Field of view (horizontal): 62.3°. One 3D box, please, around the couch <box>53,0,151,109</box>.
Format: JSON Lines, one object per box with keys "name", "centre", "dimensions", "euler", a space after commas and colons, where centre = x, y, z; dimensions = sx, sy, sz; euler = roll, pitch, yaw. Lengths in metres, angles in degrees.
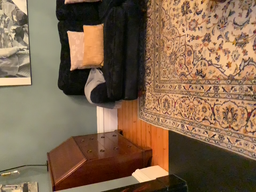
{"name": "couch", "centre": [-0.360, -0.900, 2.430], "dimensions": [1.050, 0.820, 1.920], "euler": [-169, 78, -65]}
